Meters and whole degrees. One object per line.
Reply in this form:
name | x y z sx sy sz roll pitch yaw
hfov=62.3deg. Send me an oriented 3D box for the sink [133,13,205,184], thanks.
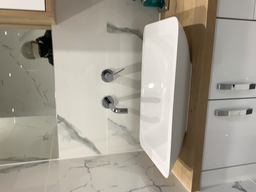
sink | 0.140 -0.010 0.930 0.400 0.110 0.600 -144 54 -70
